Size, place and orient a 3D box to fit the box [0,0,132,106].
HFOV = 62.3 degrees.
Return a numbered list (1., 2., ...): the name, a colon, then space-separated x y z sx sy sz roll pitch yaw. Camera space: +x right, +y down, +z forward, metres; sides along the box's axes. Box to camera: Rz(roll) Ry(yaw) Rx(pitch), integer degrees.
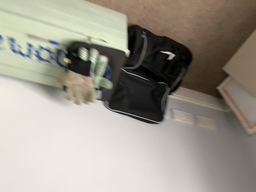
1. box: -0.420 -0.300 1.050 0.790 0.390 0.370 15 135 -17
